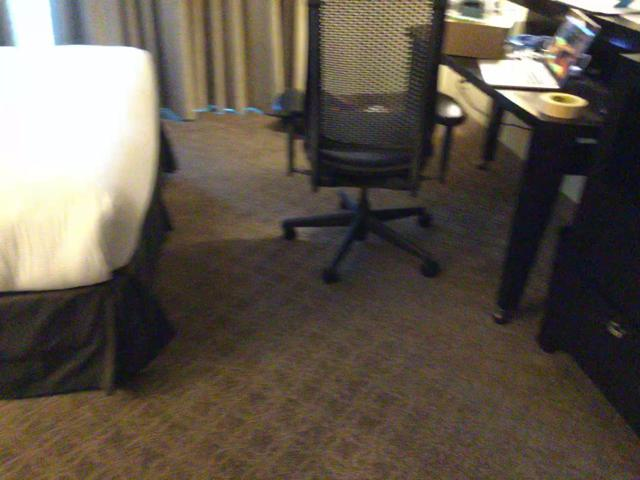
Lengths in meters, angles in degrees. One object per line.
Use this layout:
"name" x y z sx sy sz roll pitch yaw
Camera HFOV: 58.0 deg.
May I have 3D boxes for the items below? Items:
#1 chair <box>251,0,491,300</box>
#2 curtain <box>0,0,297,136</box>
"chair" 0.150 -0.410 2.150 0.670 1.050 0.650 3 30 3
"curtain" -1.540 -1.440 3.030 2.820 1.710 0.360 -6 31 -12
